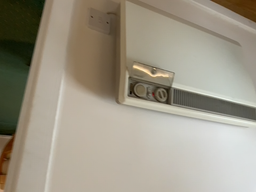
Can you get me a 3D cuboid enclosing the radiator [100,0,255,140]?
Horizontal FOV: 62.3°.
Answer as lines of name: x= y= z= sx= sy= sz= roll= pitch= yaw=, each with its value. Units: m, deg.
radiator: x=0.330 y=-0.100 z=0.900 sx=0.860 sy=0.490 sz=0.150 roll=11 pitch=155 yaw=-23
